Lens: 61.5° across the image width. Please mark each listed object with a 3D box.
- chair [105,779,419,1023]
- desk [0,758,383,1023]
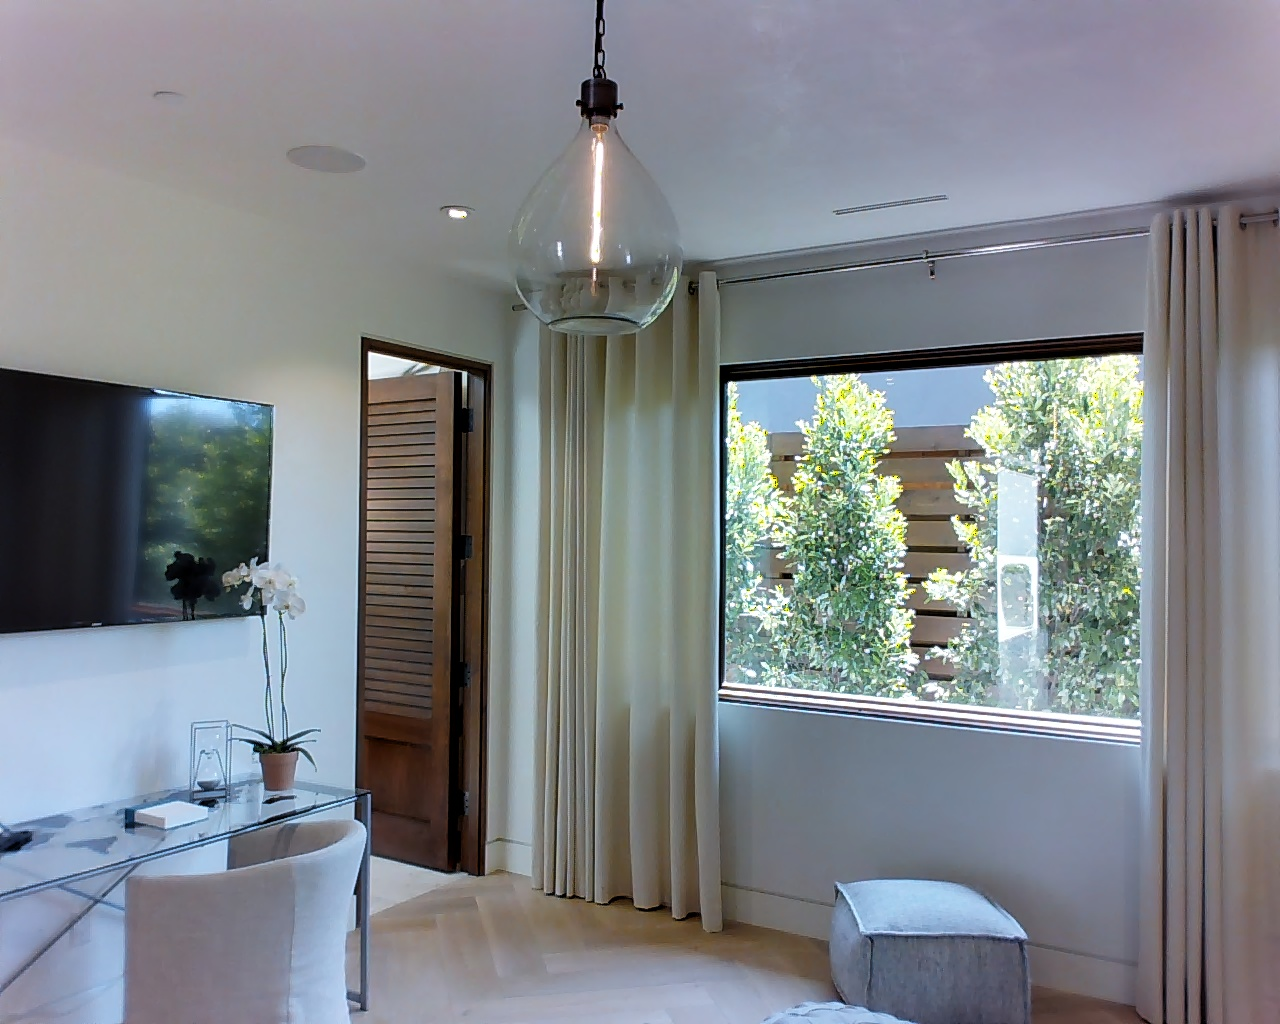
[{"bbox_3d":[-1.090,1.280,3.210,0.660,0.790,0.630,1,-1,8],"label":"chair"},{"bbox_3d":[-1.490,1.290,3.310,0.600,0.760,1.320,0,-1,30],"label":"desk"}]
